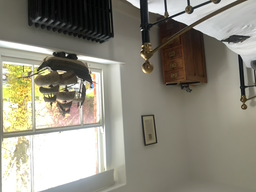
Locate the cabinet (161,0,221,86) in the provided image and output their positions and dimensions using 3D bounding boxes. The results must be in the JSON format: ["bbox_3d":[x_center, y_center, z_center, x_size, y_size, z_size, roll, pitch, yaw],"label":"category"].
[{"bbox_3d":[0.870,-0.680,2.870,0.400,1.010,0.770,-6,175,44],"label":"cabinet"}]
